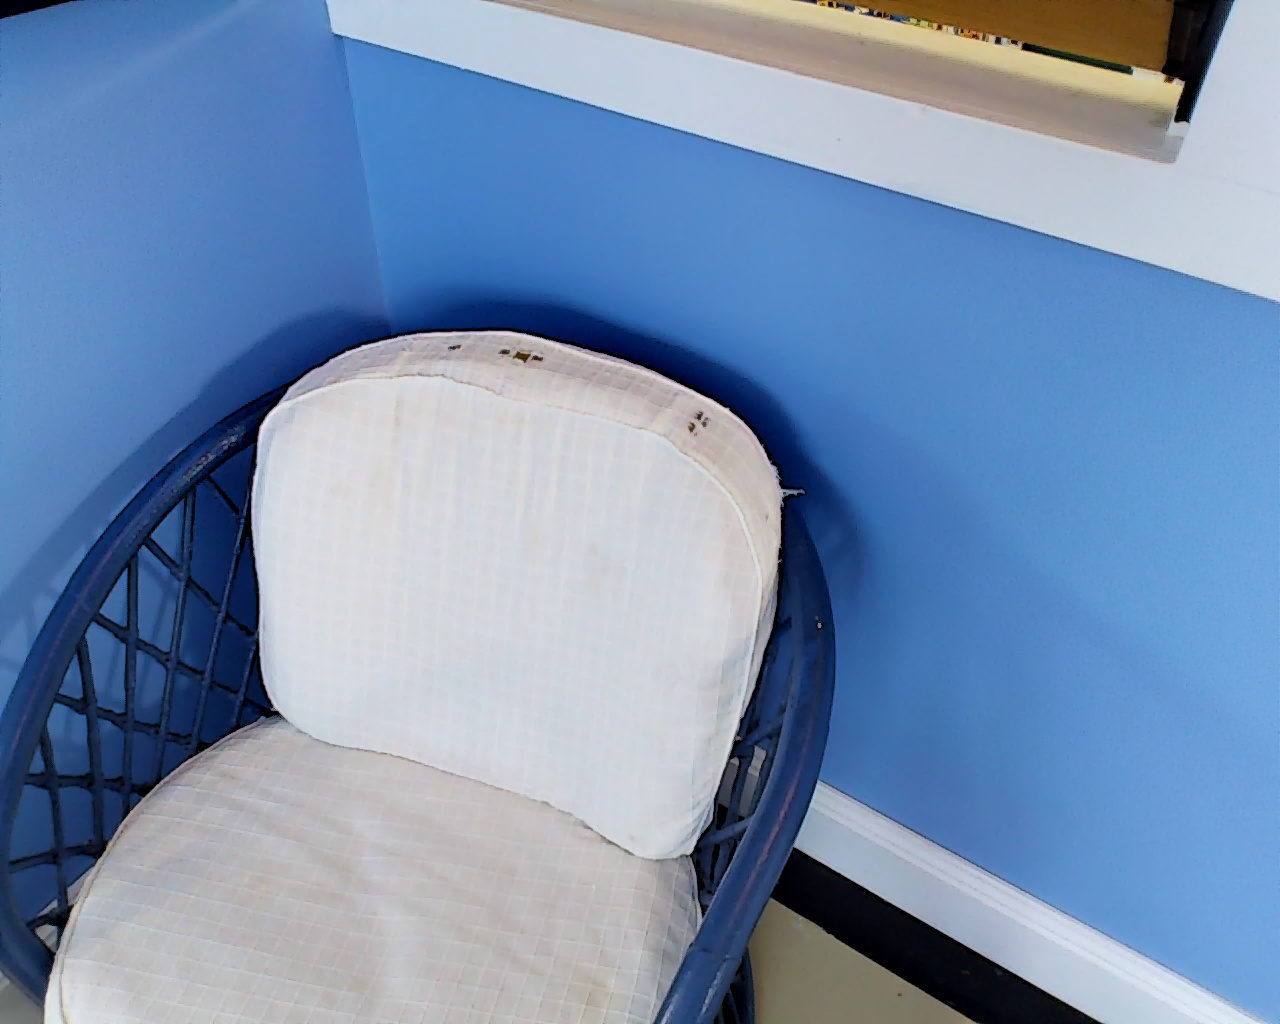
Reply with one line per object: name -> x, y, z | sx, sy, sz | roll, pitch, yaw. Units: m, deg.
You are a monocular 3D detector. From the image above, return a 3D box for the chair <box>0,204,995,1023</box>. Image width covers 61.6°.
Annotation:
chair -> -0.170, 0.290, 1.060 | 0.750, 0.730, 0.900 | 14, 44, 14
